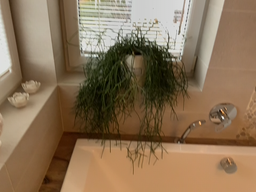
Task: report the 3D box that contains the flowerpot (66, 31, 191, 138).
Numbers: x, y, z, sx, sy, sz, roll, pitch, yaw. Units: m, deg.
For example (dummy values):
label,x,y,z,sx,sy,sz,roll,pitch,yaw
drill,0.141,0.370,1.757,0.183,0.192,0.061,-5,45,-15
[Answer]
label,x,y,z,sx,sy,sz,roll,pitch,yaw
flowerpot,-0.010,-0.070,1.310,0.630,0.550,0.260,5,30,1
